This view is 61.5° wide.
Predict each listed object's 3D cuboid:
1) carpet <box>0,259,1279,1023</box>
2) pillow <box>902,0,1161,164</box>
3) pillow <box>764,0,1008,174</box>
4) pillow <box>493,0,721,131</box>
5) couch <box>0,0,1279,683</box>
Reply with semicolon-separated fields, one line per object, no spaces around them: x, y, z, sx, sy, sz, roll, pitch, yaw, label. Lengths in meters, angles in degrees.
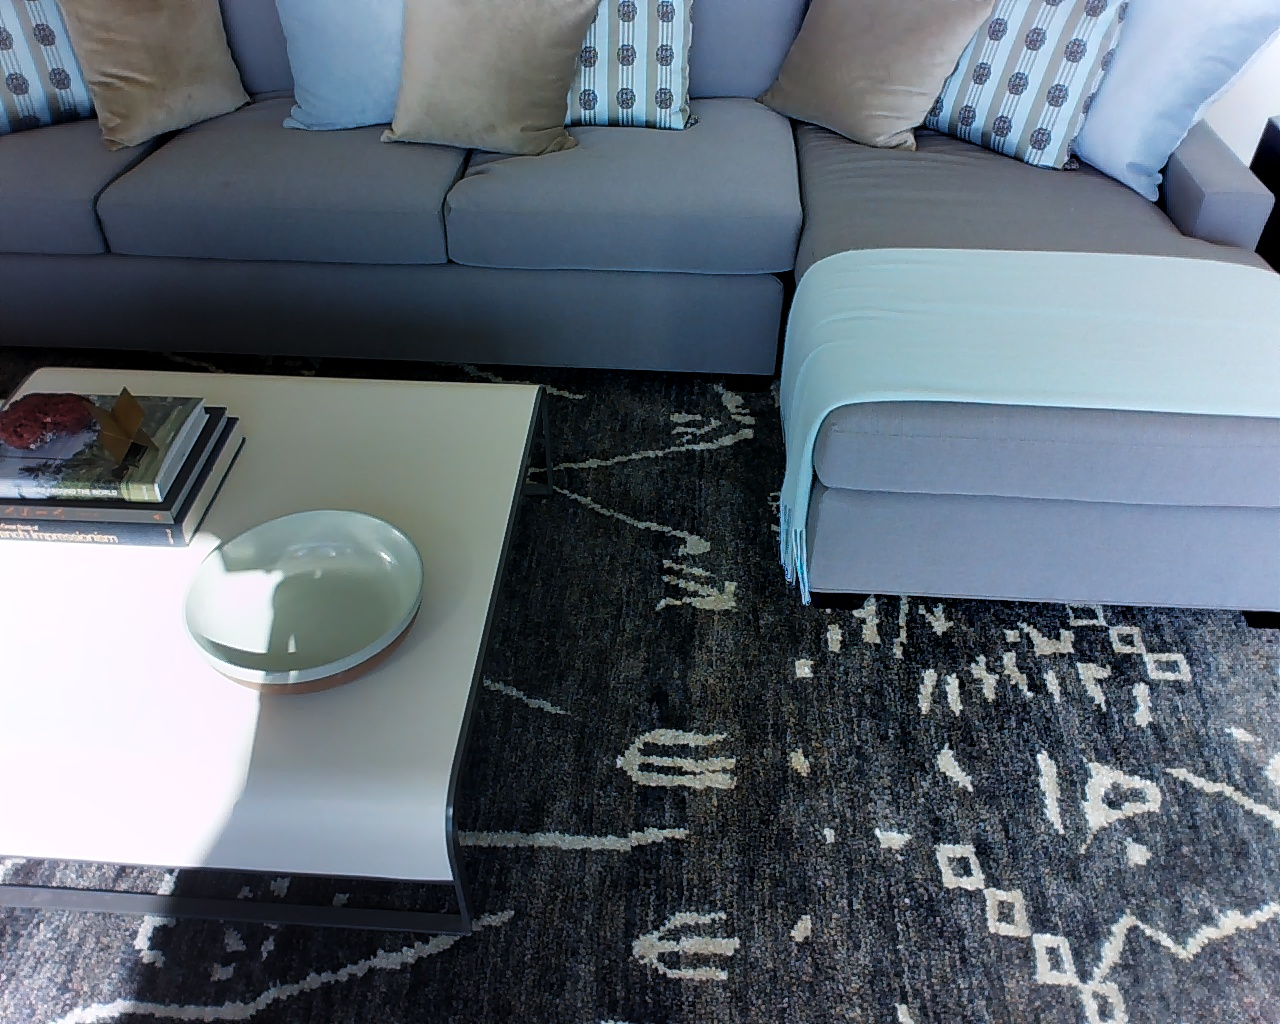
-0.470;0.190;2.150;3.690;0.010;2.650;2;42;1;carpet
0.950;-1.160;2.630;0.380;0.410;0.390;-20;46;-21;pillow
0.590;-1.150;2.660;0.280;0.390;0.490;-25;49;-25;pillow
-0.070;-1.230;2.740;0.540;0.380;0.310;3;42;3;pillow
-0.430;-0.610;2.650;3.820;0.620;1.890;3;42;2;couch
